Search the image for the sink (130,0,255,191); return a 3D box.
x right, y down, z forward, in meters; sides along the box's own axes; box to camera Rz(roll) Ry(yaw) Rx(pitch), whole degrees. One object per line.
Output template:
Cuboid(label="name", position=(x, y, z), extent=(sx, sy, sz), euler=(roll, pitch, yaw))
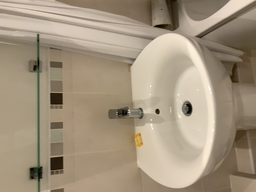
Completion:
Cuboid(label="sink", position=(0.210, 0.040, 0.810), extent=(0.470, 0.190, 0.570), euler=(157, 111, -64))
